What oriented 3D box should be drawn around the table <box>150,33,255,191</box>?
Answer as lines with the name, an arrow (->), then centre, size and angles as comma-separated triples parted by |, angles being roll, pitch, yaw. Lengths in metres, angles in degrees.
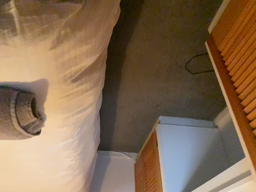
table -> 0.530, 0.250, 1.290 | 0.510, 0.770, 0.860 | 6, 142, -10
